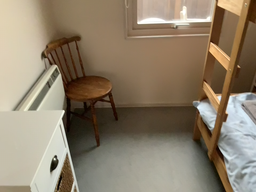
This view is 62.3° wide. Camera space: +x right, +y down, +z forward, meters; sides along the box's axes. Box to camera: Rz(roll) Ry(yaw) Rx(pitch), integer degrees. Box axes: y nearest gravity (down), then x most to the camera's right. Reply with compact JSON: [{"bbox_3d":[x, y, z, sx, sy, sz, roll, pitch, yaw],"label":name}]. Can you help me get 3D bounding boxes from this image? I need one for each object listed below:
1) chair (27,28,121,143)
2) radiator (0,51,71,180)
[{"bbox_3d":[-0.410,-0.110,1.910,0.510,0.820,0.510,11,35,19],"label":"chair"},{"bbox_3d":[-0.600,0.090,1.490,0.150,0.580,0.720,-1,33,0],"label":"radiator"}]
